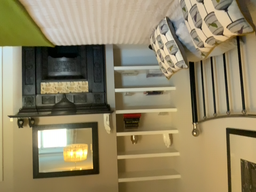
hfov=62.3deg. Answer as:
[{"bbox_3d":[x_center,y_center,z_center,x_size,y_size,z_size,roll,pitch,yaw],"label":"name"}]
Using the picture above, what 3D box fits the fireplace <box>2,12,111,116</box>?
[{"bbox_3d":[-0.890,-0.390,2.820,1.270,1.260,0.440,-1,176,-8],"label":"fireplace"}]
